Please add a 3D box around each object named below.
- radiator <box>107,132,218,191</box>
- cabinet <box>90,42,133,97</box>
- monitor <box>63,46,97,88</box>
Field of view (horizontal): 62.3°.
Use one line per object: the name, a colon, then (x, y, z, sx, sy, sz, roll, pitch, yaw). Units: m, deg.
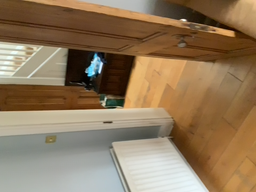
radiator: (0.360, 0.810, 1.880, 1.140, 0.770, 0.170, 58, 140, 47)
cabinet: (-0.320, -0.450, 3.740, 0.490, 0.490, 0.810, 56, 138, 49)
monitor: (-0.850, -0.480, 3.710, 0.080, 0.480, 0.740, 57, 138, 48)
